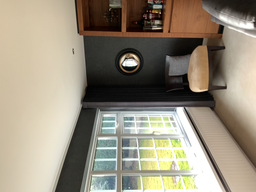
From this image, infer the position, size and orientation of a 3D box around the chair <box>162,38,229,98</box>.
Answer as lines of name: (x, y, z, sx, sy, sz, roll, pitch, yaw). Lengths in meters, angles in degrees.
chair: (1.100, -0.440, 3.670, 0.790, 0.830, 0.780, 102, 168, -76)

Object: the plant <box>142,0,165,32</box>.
plant: (0.420, -1.570, 3.420, 0.300, 0.300, 0.970, -94, 6, -60)
